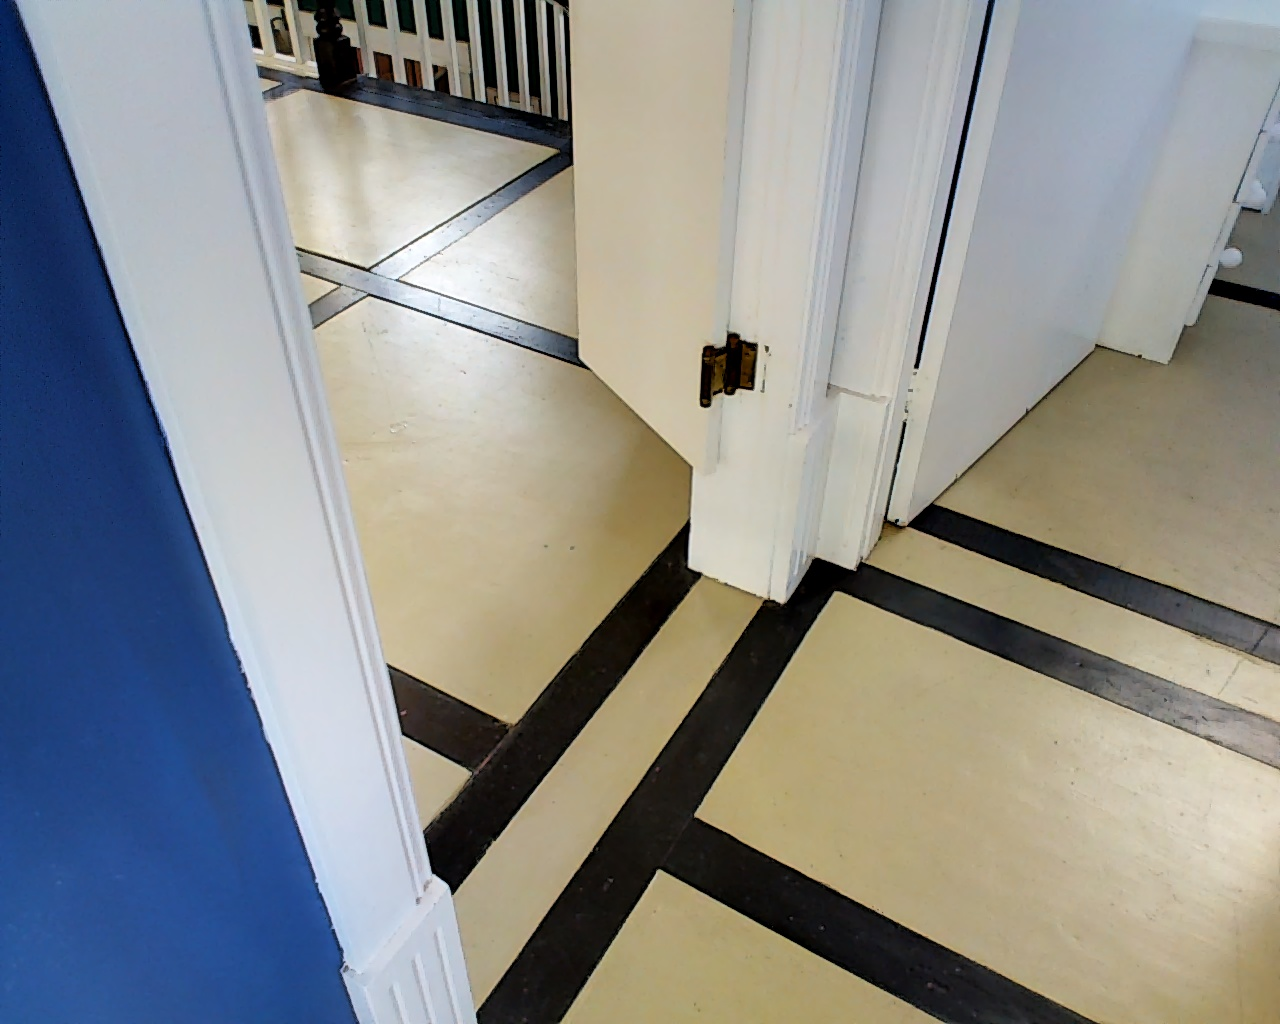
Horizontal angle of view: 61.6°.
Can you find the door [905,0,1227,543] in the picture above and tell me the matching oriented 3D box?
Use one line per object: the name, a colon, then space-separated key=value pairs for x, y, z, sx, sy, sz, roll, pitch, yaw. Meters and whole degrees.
door: x=0.770 y=-0.930 z=1.520 sx=0.030 sy=2.050 sz=0.830 roll=30 pitch=49 yaw=30
